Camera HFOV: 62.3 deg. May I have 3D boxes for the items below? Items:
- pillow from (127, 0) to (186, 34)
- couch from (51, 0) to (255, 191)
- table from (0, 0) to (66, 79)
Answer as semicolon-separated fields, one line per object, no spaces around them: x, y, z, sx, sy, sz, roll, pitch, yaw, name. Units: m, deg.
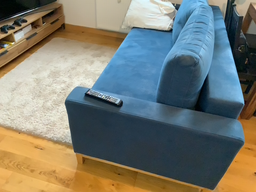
0.340;-0.990;2.510;0.580;0.240;0.430;17;41;14;pillow
0.360;-0.390;1.960;0.950;0.910;2.130;13;41;9;couch
-1.360;-0.760;2.640;0.380;0.390;1.620;13;41;9;table
